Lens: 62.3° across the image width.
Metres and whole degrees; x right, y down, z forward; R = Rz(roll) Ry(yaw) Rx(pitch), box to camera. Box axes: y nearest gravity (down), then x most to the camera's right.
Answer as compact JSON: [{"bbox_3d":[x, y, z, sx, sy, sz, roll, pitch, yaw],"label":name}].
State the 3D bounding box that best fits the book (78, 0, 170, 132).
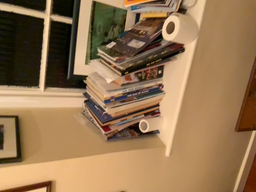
[{"bbox_3d":[-0.040,-0.140,0.940,0.280,0.220,0.500,28,112,53],"label":"book"}]
